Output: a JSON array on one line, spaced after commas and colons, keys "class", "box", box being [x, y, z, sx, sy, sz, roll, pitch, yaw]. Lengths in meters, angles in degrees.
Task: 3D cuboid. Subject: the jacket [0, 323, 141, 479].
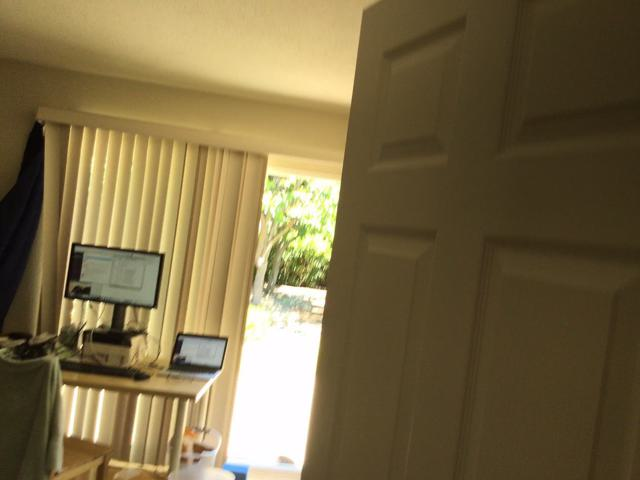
[{"class": "jacket", "box": [-1.270, 0.900, 2.590, 0.550, 0.940, 0.560, 8, -4, 11]}]

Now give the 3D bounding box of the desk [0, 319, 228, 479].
[{"class": "desk", "box": [-1.310, 0.970, 3.170, 1.420, 0.790, 0.910, 9, -4, -4]}]

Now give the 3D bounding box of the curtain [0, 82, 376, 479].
[{"class": "curtain", "box": [-0.860, 0.350, 3.570, 2.060, 2.250, 0.310, 9, -4, -4]}]
